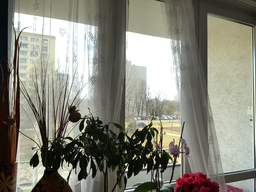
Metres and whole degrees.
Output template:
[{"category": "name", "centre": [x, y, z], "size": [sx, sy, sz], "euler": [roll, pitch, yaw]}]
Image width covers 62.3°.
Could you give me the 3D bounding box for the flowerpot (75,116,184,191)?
[{"category": "flowerpot", "centre": [0.000, 0.450, 1.290], "size": [0.540, 0.630, 0.380], "euler": [2, -2, -27]}]
